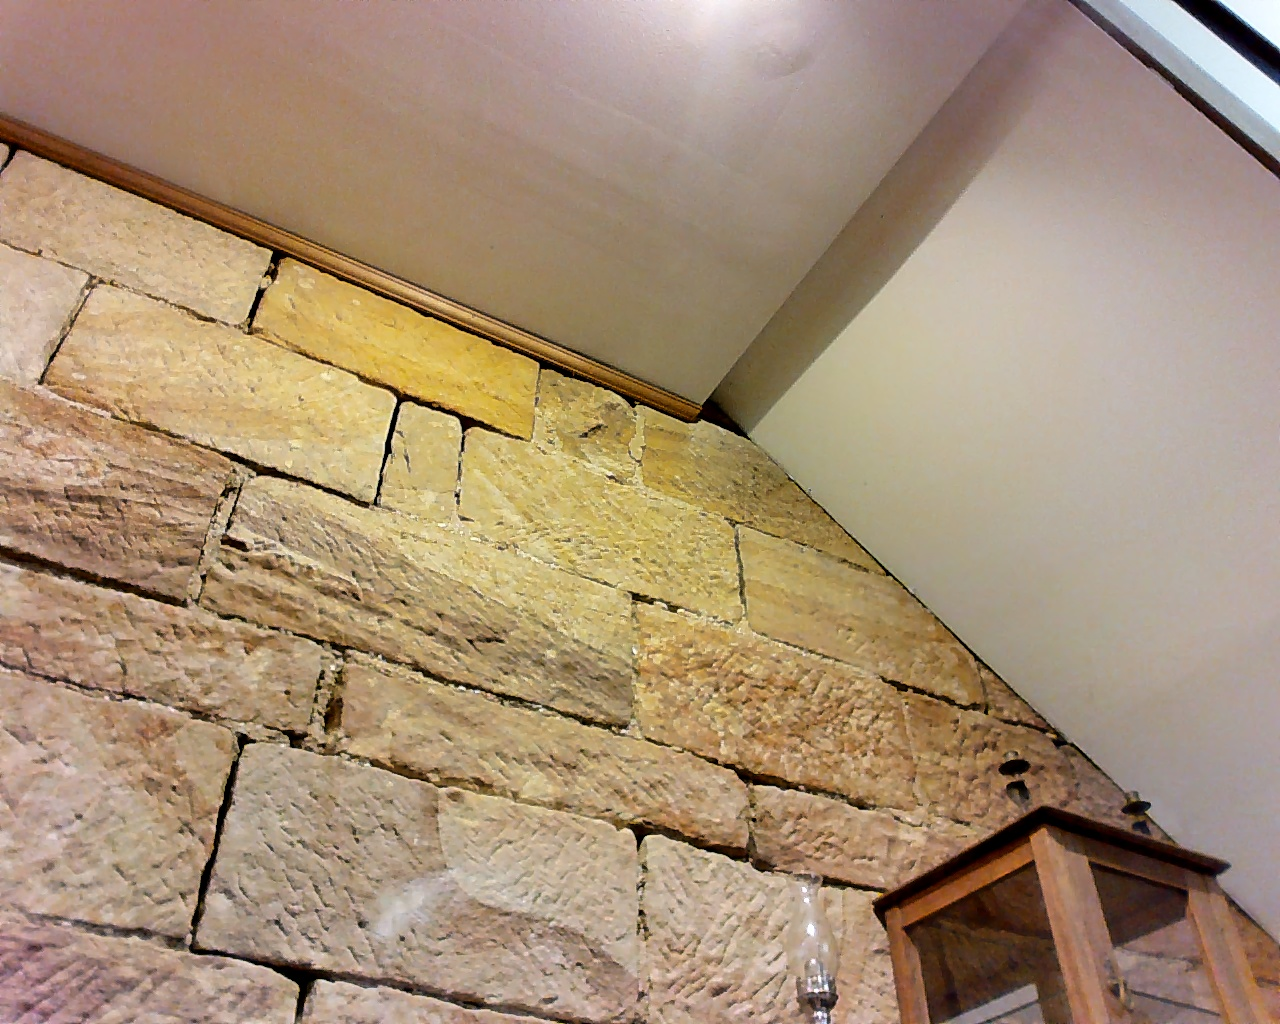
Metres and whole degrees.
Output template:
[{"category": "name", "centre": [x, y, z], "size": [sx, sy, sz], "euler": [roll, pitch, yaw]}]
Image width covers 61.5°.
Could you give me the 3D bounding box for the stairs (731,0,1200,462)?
[{"category": "stairs", "centre": [0.570, -0.540, 2.160], "size": [0.220, 0.220, 1.070], "euler": [21, -45, -21]}]
